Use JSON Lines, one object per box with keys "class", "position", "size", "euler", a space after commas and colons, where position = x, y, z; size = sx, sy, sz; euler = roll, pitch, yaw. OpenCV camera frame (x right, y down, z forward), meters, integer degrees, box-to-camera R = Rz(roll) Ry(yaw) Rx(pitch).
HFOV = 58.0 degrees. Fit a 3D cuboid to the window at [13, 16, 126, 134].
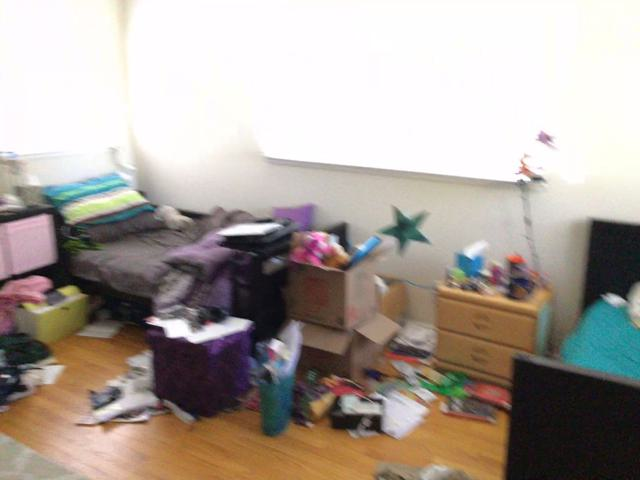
{"class": "window", "position": [-1.740, -1.130, 4.080], "size": [0.240, 0.740, 0.680], "euler": [9, 14, 30]}
